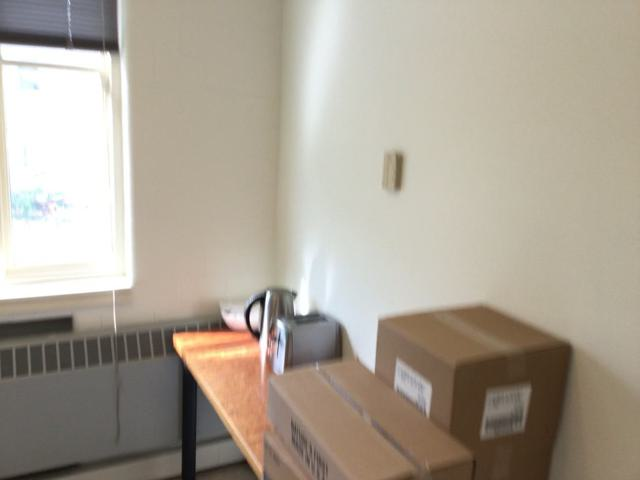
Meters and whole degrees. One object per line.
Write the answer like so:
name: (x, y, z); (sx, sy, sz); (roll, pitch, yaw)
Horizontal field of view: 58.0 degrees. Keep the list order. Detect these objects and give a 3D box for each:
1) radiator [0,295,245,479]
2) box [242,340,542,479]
radiator: (-1.310, 0.660, 2.100); (2.050, 0.710, 0.300); (-2, 13, -27)
box: (0.120, 0.520, 1.270); (0.440, 0.410, 0.460); (-2, 13, -27)
